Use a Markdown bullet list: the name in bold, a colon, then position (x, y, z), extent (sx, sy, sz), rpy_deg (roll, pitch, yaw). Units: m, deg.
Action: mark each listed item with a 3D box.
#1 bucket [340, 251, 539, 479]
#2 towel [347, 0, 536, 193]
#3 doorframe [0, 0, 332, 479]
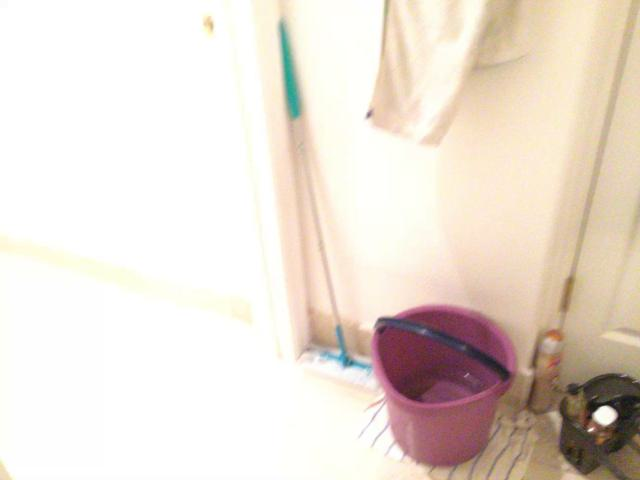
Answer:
- **bucket**: position (0.270, 0.310, 1.320), extent (0.330, 0.400, 0.320), rpy_deg (13, 38, 23)
- **towel**: position (0.210, -0.330, 1.030), extent (0.290, 0.440, 0.130), rpy_deg (13, 38, 23)
- **doorframe**: position (-0.340, -0.070, 0.980), extent (0.260, 1.490, 0.980), rpy_deg (13, 38, 23)
